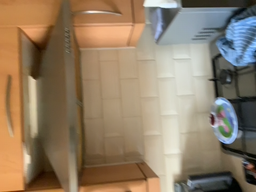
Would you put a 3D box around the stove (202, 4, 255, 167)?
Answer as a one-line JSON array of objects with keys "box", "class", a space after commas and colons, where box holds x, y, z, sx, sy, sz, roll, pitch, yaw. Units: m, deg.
[{"box": [0.480, -0.020, 0.890, 0.540, 0.040, 0.590, 135, 131, -82], "class": "stove"}]
